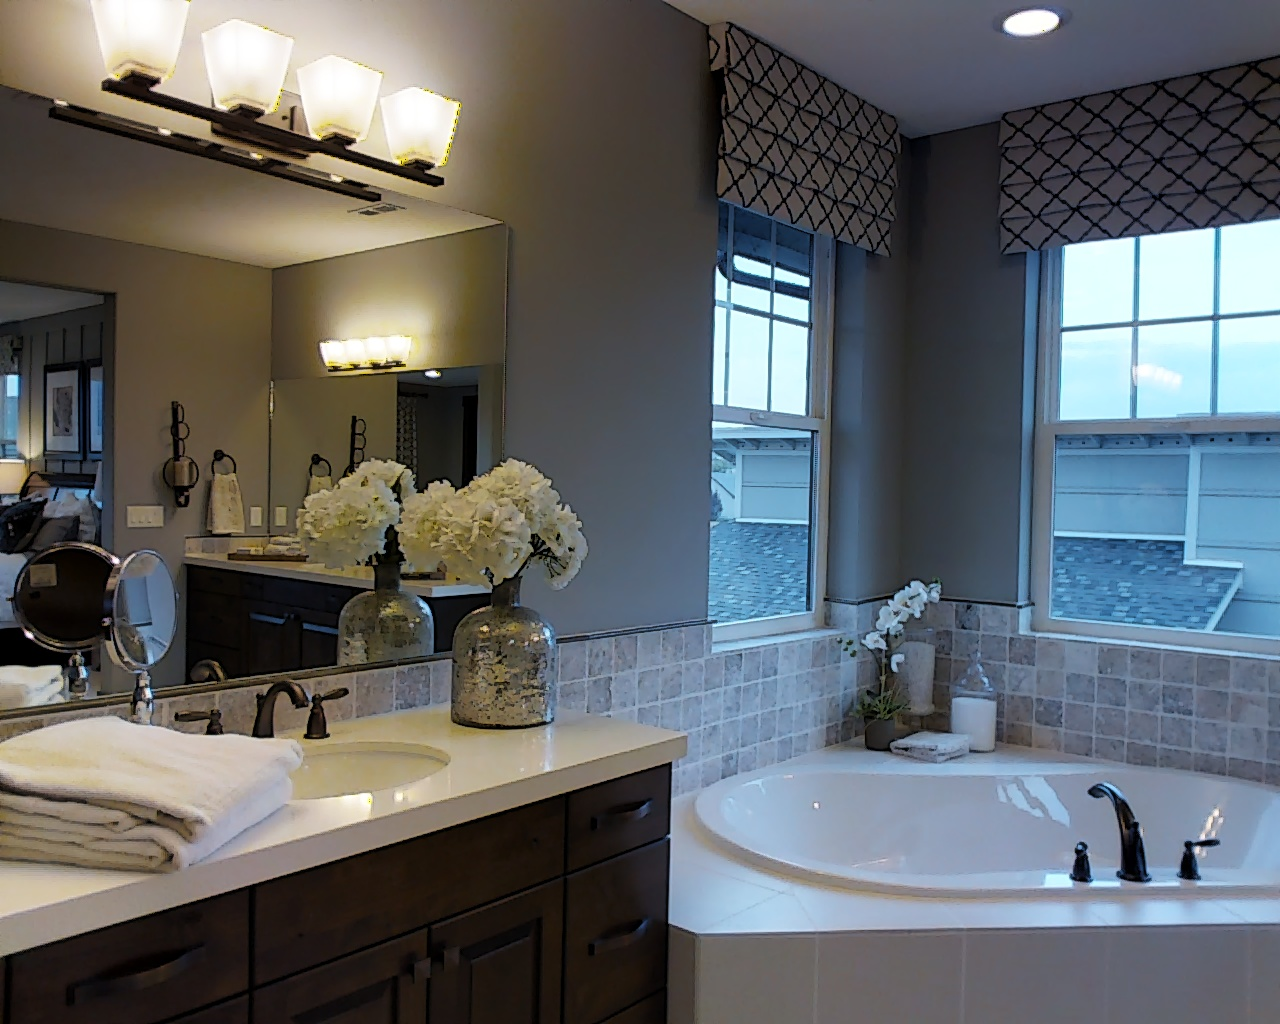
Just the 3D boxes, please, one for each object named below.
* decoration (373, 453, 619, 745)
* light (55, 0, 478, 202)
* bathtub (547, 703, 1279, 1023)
[{"bbox_3d":[-0.300,0.160,2.270,0.320,0.550,0.400,2,1,40],"label":"decoration"},{"bbox_3d":[-0.640,-0.760,1.960,0.180,0.190,0.740,2,1,41],"label":"light"},{"bbox_3d":[1.100,1.010,2.900,2.670,0.690,1.520,1,1,-4],"label":"bathtub"}]
